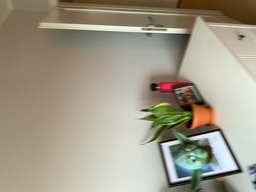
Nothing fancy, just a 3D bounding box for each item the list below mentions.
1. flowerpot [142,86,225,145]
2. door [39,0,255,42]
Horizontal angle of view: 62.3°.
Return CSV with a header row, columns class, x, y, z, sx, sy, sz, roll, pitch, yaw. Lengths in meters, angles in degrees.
class,x,y,z,sx,sy,sz,roll,pitch,yaw
flowerpot,0.290,0.110,1.210,0.250,0.360,0.220,99,168,-45
door,0.240,-0.790,2.180,0.820,2.010,0.120,-103,15,-55
